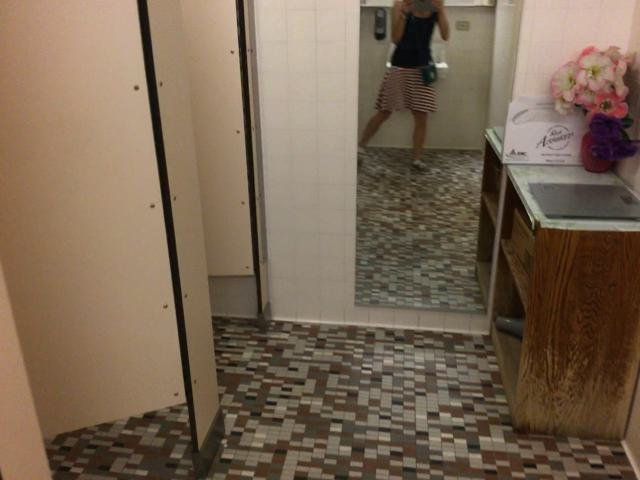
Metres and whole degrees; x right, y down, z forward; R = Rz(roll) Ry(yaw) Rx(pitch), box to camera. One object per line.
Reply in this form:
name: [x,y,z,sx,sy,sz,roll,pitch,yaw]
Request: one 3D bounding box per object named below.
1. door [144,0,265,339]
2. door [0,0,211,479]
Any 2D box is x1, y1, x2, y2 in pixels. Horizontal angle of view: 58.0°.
door: [-0.410,-0.230,2.210,0.290,1.330,0.130,-2,22,2]
door: [-0.590,0.090,1.380,0.500,1.380,0.130,-8,23,-14]
